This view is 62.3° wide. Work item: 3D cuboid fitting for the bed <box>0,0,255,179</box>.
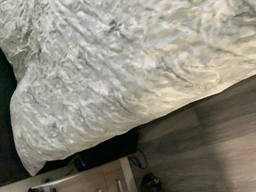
[{"bbox_3d":[-0.200,-0.520,1.430,2.120,0.600,1.700,-30,74,41],"label":"bed"}]
